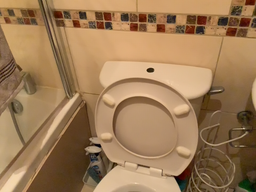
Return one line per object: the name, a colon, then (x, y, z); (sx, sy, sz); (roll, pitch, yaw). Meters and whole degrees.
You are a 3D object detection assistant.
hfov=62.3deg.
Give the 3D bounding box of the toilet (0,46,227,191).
toilet: (0.030, 0.350, 0.810); (0.430, 0.810, 0.680); (7, 40, 13)
